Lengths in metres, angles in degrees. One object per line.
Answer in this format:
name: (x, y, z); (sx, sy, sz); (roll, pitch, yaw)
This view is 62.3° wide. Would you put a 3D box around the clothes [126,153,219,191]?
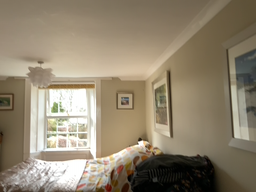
clothes: (0.300, 0.720, 1.550); (0.600, 0.520, 0.310); (-1, -5, -5)
